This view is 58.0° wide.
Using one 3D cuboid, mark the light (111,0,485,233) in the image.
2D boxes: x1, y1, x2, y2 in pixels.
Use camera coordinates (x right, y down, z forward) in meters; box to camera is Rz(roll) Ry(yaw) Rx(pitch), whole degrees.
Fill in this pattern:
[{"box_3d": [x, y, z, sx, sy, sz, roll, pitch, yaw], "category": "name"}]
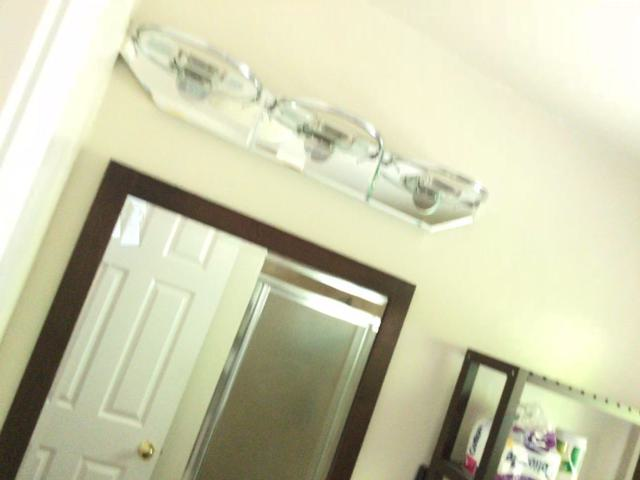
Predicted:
[{"box_3d": [-0.020, -0.220, 1.190, 0.770, 0.140, 0.140, 23, -8, -20], "category": "light"}]
